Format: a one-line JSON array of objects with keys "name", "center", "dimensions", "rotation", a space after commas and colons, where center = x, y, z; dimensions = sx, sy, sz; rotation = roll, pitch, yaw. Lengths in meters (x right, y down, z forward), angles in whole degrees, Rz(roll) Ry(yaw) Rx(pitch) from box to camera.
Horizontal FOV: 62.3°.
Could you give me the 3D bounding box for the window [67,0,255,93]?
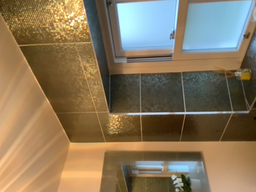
[{"name": "window", "center": [0.350, -0.480, 1.380], "dimensions": [0.910, 1.310, 0.350], "rotation": [84, -173, -46]}]
